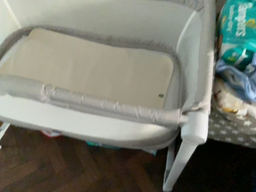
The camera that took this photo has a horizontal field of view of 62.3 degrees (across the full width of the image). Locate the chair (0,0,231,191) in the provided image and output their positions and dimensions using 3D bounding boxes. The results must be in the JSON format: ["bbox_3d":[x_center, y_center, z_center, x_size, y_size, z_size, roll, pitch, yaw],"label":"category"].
[{"bbox_3d":[-0.200,-0.090,1.010,1.050,0.700,0.670,13,60,10],"label":"chair"}]
